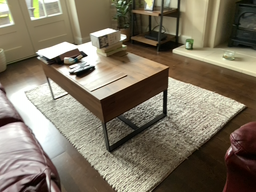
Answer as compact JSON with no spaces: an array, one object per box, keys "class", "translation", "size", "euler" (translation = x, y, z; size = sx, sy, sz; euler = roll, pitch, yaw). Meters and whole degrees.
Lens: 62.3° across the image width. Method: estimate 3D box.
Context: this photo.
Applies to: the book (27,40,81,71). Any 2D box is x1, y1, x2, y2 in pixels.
[{"class":"book","translation":[-0.610,-0.340,1.730],"size":[0.300,0.070,0.380],"euler":[-26,38,-29]}]
